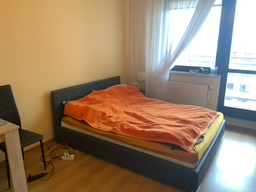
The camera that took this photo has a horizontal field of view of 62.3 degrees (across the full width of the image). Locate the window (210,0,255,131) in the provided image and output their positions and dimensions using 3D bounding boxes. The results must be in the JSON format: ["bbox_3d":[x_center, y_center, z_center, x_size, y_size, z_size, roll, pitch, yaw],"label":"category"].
[{"bbox_3d":[2.050,-0.560,3.550,1.030,2.310,0.150,10,17,30],"label":"window"}]

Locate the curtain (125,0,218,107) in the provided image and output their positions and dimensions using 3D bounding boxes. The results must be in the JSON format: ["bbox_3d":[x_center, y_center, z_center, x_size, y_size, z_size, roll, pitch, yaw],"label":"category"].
[{"bbox_3d":[0.700,-0.940,4.010,1.680,2.050,0.190,10,17,31],"label":"curtain"}]
